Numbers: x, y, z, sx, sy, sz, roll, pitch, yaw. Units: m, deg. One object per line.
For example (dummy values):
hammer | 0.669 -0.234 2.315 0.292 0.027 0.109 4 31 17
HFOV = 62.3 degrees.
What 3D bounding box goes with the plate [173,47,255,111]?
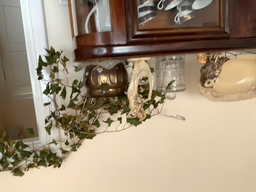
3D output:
plate | 0.470 -0.100 1.020 0.390 0.240 0.310 -6 -170 -16
